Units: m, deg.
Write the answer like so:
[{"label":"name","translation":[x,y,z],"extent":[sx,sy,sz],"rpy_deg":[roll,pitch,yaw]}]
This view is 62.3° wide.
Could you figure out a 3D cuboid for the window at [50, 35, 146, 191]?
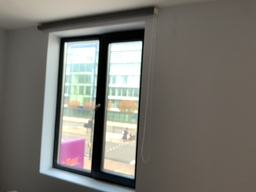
[{"label":"window","translation":[-0.360,0.150,2.240],"extent":[1.050,1.490,0.090],"rpy_deg":[3,-1,26]}]
